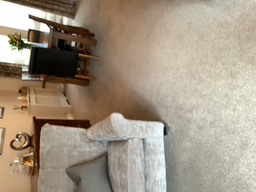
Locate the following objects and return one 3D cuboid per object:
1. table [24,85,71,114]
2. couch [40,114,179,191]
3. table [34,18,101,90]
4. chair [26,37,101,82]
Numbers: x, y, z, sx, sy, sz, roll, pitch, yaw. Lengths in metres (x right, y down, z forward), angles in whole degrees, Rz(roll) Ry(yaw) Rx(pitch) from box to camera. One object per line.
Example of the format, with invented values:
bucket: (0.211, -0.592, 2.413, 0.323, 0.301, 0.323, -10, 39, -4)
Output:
table: (-1.970, 0.060, 5.100, 1.180, 0.920, 0.200, 43, 123, 55)
couch: (-0.210, 0.630, 1.800, 0.860, 0.880, 0.850, -21, 69, 59)
table: (-1.260, -0.880, 4.040, 1.810, 0.790, 0.910, 40, 121, 56)
chair: (-1.020, -0.570, 3.330, 0.570, 1.000, 0.450, 39, 121, 56)
